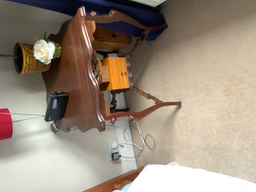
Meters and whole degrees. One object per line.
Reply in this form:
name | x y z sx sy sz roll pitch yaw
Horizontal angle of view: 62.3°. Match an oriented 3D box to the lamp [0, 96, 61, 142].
lamp | -0.610 0.130 1.200 0.180 0.380 0.200 -13 86 48
